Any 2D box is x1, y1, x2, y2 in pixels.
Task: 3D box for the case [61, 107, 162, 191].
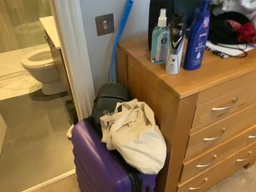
[{"bbox_3d":[-0.090,0.460,1.130,0.300,0.600,0.440,-18,41,-20],"label":"case"}]
